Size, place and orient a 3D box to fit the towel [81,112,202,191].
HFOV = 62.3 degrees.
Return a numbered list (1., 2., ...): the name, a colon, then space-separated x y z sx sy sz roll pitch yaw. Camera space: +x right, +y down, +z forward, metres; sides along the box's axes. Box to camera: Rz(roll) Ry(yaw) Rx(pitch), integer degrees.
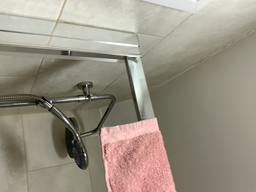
1. towel: 0.040 0.220 0.440 0.120 0.200 0.340 -26 -109 54
